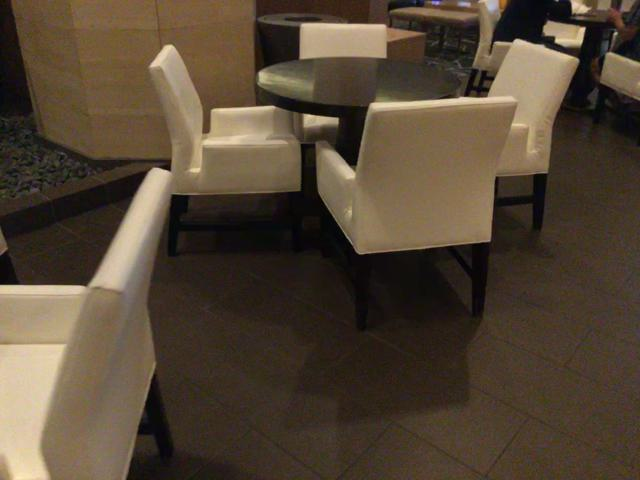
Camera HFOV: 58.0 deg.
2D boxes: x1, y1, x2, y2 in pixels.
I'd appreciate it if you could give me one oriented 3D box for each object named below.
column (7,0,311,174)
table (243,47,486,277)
[{"bbox_3d":[-0.870,-1.230,3.500,0.920,1.040,1.480,21,36,31],"label":"column"},{"bbox_3d":[0.140,-0.410,2.710,0.900,0.760,0.910,-1,30,-3],"label":"table"}]
